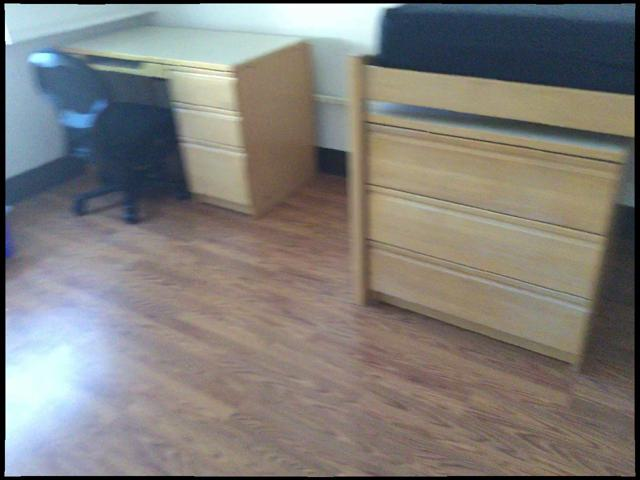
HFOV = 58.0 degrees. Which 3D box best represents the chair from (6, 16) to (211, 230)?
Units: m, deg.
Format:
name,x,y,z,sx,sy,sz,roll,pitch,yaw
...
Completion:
name,x,y,z,sx,sy,sz,roll,pitch,yaw
chair,-1.028,-0.621,2.950,0.529,0.851,0.610,17,38,30
